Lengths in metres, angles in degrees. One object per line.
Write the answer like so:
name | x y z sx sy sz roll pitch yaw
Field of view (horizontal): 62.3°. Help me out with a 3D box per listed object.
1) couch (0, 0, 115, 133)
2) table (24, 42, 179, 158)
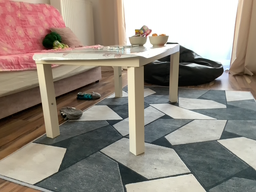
couch | -0.980 -0.400 1.750 0.970 0.880 2.060 5 16 20
table | -0.040 -0.100 1.390 0.580 0.460 0.970 5 17 21
